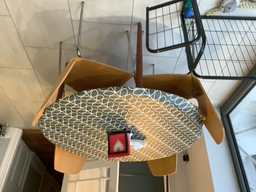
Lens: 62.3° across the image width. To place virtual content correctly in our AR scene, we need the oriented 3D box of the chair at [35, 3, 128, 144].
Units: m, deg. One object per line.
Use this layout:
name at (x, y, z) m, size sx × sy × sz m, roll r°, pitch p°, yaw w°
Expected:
chair at (-0.280, -0.170, 1.510) m, size 0.420 × 0.850 × 0.360 m, roll 24°, pitch 139°, yaw -30°
